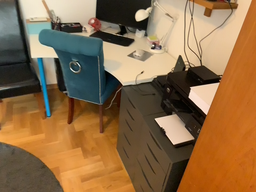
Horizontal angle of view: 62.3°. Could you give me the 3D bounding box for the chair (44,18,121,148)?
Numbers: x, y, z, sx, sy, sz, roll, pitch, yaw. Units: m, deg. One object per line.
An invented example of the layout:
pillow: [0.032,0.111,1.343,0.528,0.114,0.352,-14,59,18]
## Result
chair: [-0.370,-0.120,1.980,0.410,0.980,0.610,11,35,6]

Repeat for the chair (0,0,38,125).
chair: [-1.210,-0.310,2.030,0.450,1.050,0.540,-10,39,-23]
